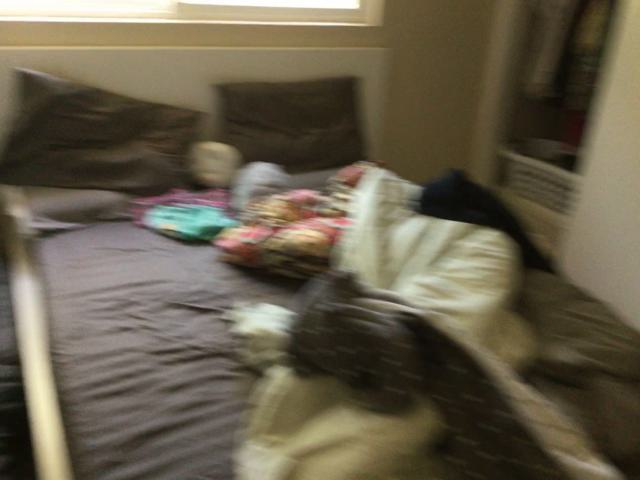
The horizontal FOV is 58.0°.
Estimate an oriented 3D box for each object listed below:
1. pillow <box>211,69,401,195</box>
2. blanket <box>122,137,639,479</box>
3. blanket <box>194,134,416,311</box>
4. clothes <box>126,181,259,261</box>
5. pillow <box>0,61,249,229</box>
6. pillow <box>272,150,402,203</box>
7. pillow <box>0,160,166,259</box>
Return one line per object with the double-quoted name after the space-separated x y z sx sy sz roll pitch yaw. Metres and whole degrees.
-0.060 -0.470 2.420 0.720 0.400 0.270 -10 30 -24 "pillow"
0.240 0.120 1.470 1.190 0.310 1.270 -10 30 -24 "blanket"
-0.070 -0.090 1.820 0.510 0.310 0.500 -10 30 -24 "blanket"
-0.450 -0.080 2.010 0.360 0.080 0.380 -10 30 -24 "clothes"
-0.720 -0.370 2.080 0.860 0.450 0.310 -10 30 -24 "pillow"
0.070 -0.270 2.400 0.500 0.100 0.200 -10 30 -24 "pillow"
-0.860 -0.130 2.060 0.510 0.120 0.440 -10 30 -24 "pillow"
